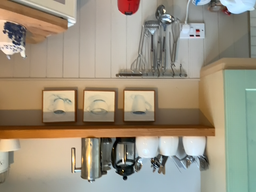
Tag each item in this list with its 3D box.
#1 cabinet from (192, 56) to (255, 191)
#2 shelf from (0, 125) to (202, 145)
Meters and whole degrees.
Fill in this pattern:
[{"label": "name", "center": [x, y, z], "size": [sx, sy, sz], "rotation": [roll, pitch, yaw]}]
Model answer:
[{"label": "cabinet", "center": [0.550, 0.250, 1.050], "size": [0.340, 0.820, 0.330], "rotation": [0, 178, -4]}, {"label": "shelf", "center": [-0.300, 0.190, 1.060], "size": [1.310, 0.070, 0.170], "rotation": [0, 178, -6]}]
